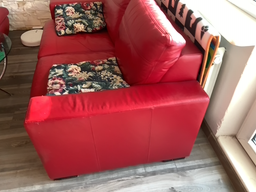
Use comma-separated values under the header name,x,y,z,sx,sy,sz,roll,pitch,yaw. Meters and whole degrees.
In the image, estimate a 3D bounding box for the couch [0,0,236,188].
name,x,y,z,sx,sy,sz,roll,pitch,yaw
couch,-0.230,-0.380,1.740,1.060,0.840,1.750,-6,42,-9

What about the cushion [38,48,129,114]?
name,x,y,z,sx,sy,sz,roll,pitch,yaw
cushion,-0.280,-0.120,1.330,0.480,0.100,0.450,-8,43,-11
